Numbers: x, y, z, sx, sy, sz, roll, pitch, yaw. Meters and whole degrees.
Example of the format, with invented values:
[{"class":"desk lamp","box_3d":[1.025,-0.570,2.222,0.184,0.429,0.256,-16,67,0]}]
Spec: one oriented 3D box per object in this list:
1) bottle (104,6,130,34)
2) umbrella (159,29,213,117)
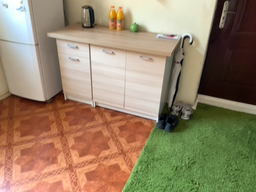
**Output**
[{"class":"bottle","box_3d":[-0.130,-0.870,2.430,0.260,0.260,0.140,14,31,19]},{"class":"umbrella","box_3d":[0.620,-0.240,2.430,0.380,0.950,0.290,3,29,0]}]
